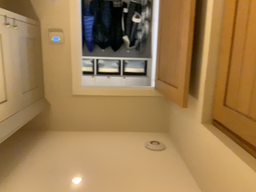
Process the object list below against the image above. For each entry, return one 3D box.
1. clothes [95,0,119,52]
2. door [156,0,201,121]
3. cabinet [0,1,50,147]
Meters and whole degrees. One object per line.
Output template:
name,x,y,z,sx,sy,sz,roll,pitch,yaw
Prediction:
clothes,-0.380,-1.220,3.780,0.390,0.850,0.260,1,-168,-6
door,0.400,-0.910,1.670,0.140,2.060,0.760,2,-168,-1
cabinet,-1.000,-0.200,1.600,0.390,0.880,1.290,1,-168,-4
